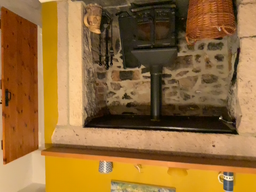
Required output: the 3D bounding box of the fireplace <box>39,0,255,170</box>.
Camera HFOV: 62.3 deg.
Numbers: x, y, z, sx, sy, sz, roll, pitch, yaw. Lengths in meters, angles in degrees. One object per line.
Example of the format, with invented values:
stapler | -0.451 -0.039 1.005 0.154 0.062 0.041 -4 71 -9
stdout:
fireplace | 0.170 -0.260 2.310 2.020 1.700 0.790 0 -179 14
